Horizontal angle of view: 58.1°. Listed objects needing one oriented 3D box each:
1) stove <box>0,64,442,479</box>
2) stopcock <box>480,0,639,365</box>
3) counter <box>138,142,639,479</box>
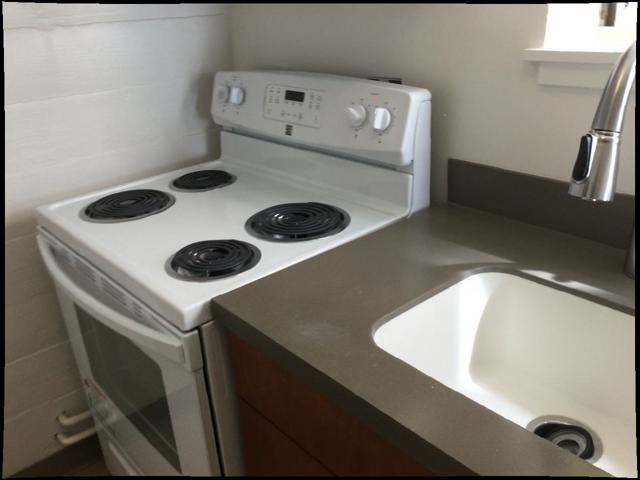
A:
[{"bbox_3d":[-0.299,0.190,1.630,0.779,1.183,0.989,-25,30,-36],"label":"stove"},{"bbox_3d":[0.449,-0.120,0.880,0.380,0.441,0.210,-25,30,-36],"label":"stopcock"},{"bbox_3d":[0.469,0.150,0.730,0.689,0.180,1.618,-25,30,-36],"label":"counter"}]
